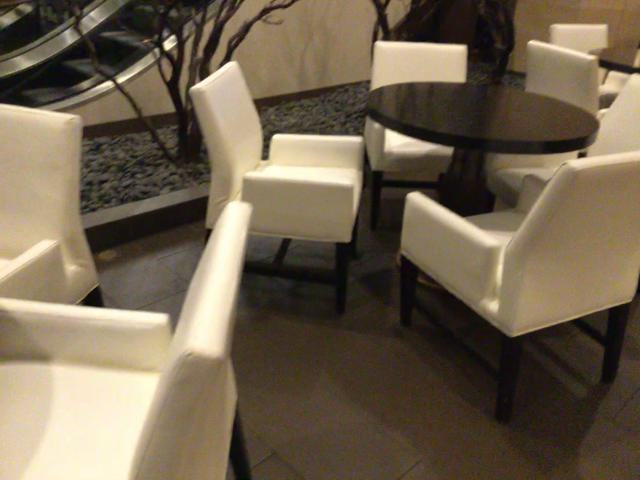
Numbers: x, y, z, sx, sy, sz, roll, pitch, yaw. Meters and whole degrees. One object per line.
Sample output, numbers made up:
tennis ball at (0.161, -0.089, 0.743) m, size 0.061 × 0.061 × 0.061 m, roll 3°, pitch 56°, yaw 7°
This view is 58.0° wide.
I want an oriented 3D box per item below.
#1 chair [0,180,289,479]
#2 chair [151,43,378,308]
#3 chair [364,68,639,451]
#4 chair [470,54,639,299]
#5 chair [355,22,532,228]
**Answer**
chair at (-0.400, 0.380, 1.170) m, size 0.580 × 0.820 × 0.590 m, roll -1°, pitch 30°, yaw 3°
chair at (-0.150, -0.290, 2.350) m, size 0.690 × 0.850 × 0.640 m, roll 4°, pitch 31°, yaw 11°
chair at (0.680, -0.010, 1.940) m, size 0.780 × 0.860 × 0.760 m, roll -16°, pitch 33°, yaw -22°
chair at (1.150, -0.300, 2.520) m, size 0.710 × 0.820 × 0.640 m, roll -5°, pitch 30°, yaw -5°
chair at (0.570, -0.620, 3.020) m, size 0.680 × 0.830 × 0.720 m, roll -4°, pitch 30°, yaw -3°
